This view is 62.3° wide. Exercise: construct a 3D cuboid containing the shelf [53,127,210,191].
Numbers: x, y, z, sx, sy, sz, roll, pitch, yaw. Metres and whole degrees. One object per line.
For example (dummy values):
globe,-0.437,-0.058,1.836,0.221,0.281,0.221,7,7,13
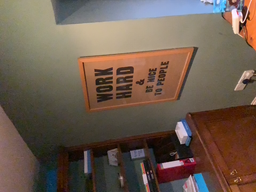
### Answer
shelf,0.050,0.990,1.840,0.270,1.320,1.330,91,168,-47
